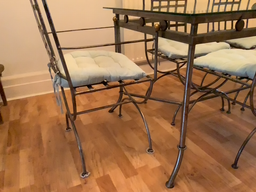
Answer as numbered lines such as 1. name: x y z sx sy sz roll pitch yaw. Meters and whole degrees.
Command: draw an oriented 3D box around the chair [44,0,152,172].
1. chair: -0.150 -0.190 1.060 0.400 1.020 0.390 -10 26 -16
